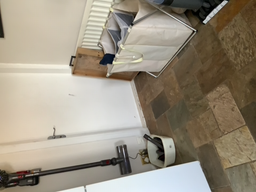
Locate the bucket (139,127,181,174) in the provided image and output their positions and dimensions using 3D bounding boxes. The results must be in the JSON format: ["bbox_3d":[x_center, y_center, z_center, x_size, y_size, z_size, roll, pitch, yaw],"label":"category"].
[{"bbox_3d":[0.280,0.510,1.980,0.340,0.160,0.330,127,134,-53],"label":"bucket"}]
